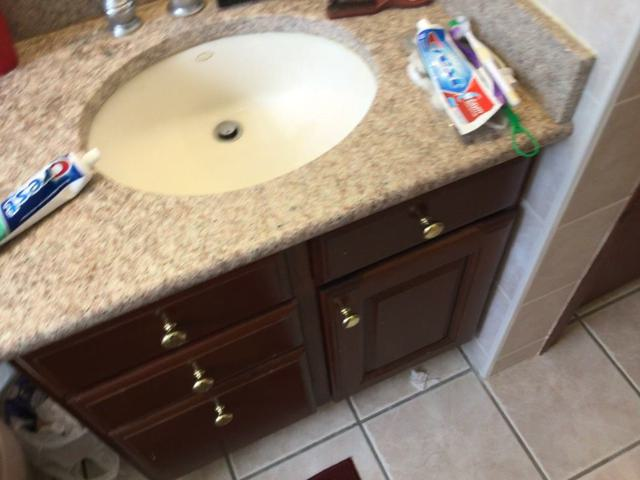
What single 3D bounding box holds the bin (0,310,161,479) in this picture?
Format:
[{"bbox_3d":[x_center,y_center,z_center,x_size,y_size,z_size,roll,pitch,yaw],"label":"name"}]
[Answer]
[{"bbox_3d":[-0.530,0.370,1.230,0.250,0.250,0.280,-22,56,-11],"label":"bin"}]
